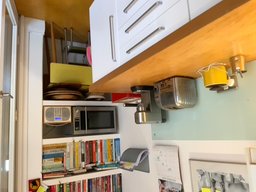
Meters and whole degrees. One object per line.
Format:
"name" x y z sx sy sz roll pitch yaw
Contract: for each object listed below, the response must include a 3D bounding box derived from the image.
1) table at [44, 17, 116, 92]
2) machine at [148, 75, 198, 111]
"table" -0.610 -0.460 2.640 0.720 0.710 0.490 1 170 -31
"machine" 0.320 -0.010 1.550 0.220 0.210 0.260 1 170 -32
